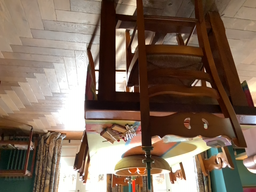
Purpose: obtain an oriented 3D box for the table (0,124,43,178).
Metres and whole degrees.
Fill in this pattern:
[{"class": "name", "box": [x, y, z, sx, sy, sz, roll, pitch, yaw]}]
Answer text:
[{"class": "table", "box": [-1.910, 0.920, 3.500, 0.740, 0.760, 0.590, 1, 154, -7]}]
